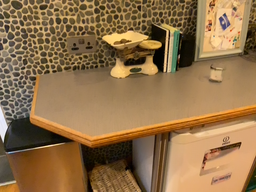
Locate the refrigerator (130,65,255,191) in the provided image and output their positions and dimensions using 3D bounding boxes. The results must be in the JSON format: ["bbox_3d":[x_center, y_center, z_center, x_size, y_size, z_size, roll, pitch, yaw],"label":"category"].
[{"bbox_3d":[0.390,0.320,1.370,0.590,0.810,0.590,-9,32,-15],"label":"refrigerator"}]

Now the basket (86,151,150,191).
[{"bbox_3d":[-0.070,0.640,1.450,0.320,0.180,0.450,-12,33,-20],"label":"basket"}]

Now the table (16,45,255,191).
[{"bbox_3d":[0.400,0.280,1.330,1.720,0.920,0.620,-9,32,-15],"label":"table"}]
